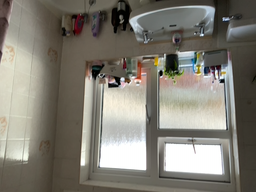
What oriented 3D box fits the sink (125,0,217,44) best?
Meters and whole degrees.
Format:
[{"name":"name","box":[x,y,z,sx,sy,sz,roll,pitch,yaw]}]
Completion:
[{"name":"sink","box":[0.310,-0.570,1.540,0.580,0.200,0.360,-1,170,17]}]
